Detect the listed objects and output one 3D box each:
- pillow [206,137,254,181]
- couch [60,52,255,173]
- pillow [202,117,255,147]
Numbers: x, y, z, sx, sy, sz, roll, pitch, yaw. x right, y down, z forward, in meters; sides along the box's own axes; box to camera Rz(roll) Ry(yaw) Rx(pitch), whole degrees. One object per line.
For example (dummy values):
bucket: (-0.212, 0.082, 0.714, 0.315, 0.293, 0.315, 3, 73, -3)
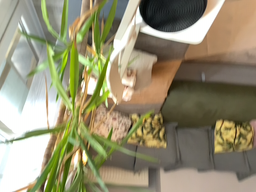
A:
pillow: (1.190, 0.720, 2.480, 0.440, 0.350, 0.180, 17, 118, 20)
couch: (0.660, 0.240, 2.280, 2.370, 0.910, 0.940, 2, 150, -1)
pillow: (1.110, 0.410, 2.360, 0.430, 0.210, 0.360, 3, 150, -1)
